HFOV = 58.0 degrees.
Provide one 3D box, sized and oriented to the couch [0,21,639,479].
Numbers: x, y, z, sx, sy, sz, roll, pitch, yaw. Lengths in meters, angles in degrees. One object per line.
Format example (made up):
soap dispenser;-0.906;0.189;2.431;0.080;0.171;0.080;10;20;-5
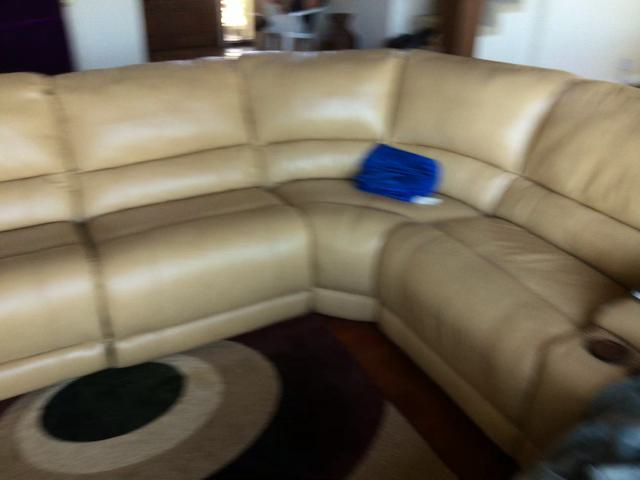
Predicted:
couch;-0.020;0.240;1.530;2.940;1.120;3.340;-12;30;-25
